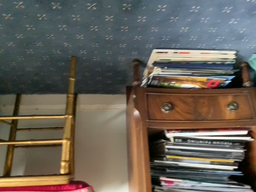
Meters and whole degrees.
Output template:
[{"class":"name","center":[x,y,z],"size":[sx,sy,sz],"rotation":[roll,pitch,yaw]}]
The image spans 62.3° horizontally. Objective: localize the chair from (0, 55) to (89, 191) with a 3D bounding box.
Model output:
[{"class":"chair","center":[-0.370,0.310,0.800],"size":[0.380,0.820,0.400],"rotation":[-1,161,-5]}]
